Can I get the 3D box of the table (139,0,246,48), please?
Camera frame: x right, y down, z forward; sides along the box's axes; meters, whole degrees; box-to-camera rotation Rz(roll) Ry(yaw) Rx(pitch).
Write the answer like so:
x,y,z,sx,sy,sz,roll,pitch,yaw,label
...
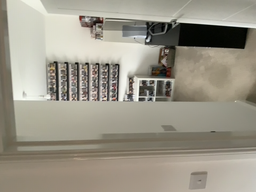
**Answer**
x,y,z,sx,sy,sz,roll,pitch,yaw,label
0.700,-0.930,2.870,1.450,0.770,0.460,-126,38,-72,table
